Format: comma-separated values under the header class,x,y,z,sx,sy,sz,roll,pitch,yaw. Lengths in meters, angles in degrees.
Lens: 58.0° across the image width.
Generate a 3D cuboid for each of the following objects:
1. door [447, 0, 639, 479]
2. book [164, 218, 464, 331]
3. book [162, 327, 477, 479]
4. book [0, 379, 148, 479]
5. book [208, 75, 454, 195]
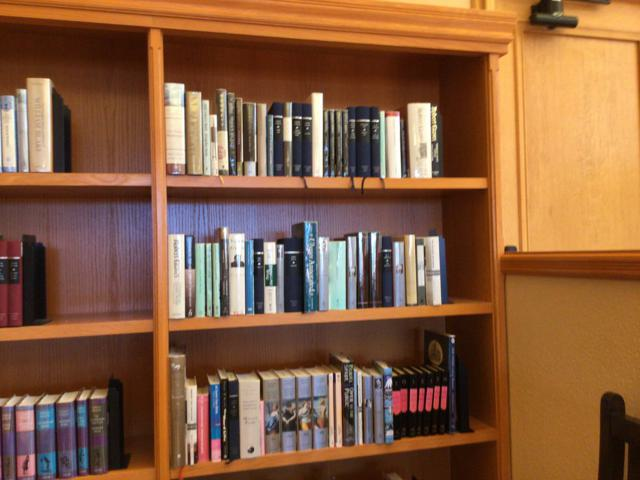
class,x,y,z,sx,sy,sz,roll,pitch,yaw
door,1.000,0.180,2.140,0.980,2.490,0.200,0,-5,-17
book,0.000,0.090,1.600,0.830,0.280,0.100,0,-5,-17
book,-0.010,0.460,1.700,0.870,0.350,0.300,0,-5,-17
book,-0.880,0.510,1.380,0.900,0.270,0.150,0,-5,-17
book,0.040,-0.280,1.620,0.690,0.280,0.090,0,-5,-17
